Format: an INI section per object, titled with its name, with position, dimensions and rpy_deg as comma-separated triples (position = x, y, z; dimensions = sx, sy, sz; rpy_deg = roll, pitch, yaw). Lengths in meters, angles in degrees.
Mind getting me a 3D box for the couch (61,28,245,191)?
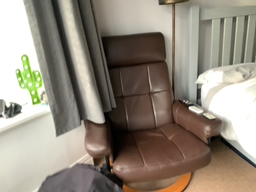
[couch]
position = 0.090, 0.110, 1.430
dimensions = 0.770, 0.980, 0.870
rpy_deg = -9, 21, -8
